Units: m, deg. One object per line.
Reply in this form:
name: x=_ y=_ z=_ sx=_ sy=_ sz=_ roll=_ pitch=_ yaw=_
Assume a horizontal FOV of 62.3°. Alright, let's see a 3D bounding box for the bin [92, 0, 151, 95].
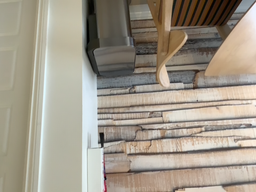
bin: x=-0.050 y=-0.460 z=1.500 sx=0.320 sy=0.790 sz=0.450 roll=-4 pitch=163 yaw=1
